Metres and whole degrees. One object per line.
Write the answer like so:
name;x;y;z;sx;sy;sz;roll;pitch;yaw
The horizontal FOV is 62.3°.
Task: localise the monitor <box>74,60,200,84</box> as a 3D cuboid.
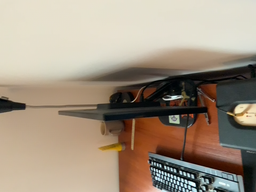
monitor;0.010;-0.080;0.830;0.390;0.340;0.030;-5;88;61
